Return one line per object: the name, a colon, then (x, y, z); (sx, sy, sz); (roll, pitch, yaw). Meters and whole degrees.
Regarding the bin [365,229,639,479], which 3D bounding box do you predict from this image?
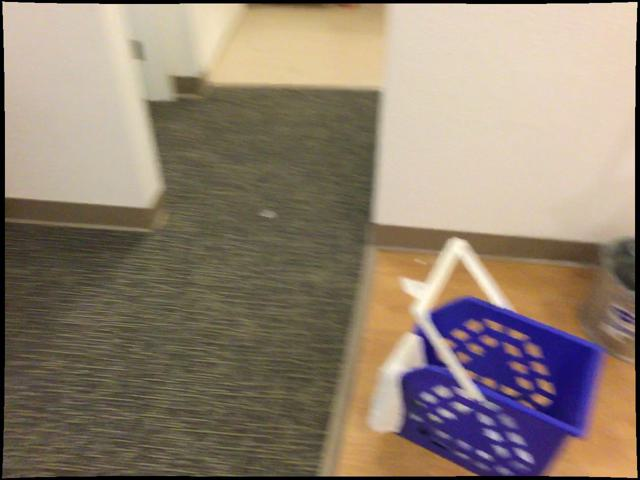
bin: (0.369, 0.301, 1.320); (0.499, 0.481, 0.400); (3, 41, 5)
